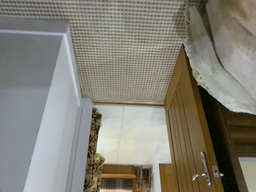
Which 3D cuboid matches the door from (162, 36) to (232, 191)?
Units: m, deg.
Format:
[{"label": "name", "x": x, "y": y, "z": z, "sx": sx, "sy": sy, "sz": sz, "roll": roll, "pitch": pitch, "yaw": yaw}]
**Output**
[{"label": "door", "x": 0.440, "y": 0.600, "z": 1.440, "sx": 0.080, "sy": 1.970, "sz": 0.880, "roll": 0, "pitch": 146, "yaw": -2}]
